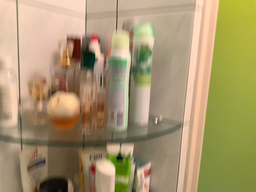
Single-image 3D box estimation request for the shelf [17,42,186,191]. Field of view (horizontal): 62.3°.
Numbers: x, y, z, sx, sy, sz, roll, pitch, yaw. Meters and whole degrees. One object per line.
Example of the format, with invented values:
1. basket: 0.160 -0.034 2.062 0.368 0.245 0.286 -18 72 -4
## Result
1. shelf: -0.080 0.330 0.550 0.300 0.890 0.220 10 12 32
